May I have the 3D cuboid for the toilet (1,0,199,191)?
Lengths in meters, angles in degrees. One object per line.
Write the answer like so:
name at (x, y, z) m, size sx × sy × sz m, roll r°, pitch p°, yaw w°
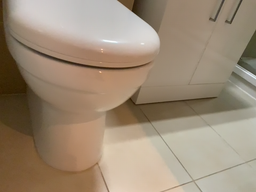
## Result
toilet at (-0.170, -0.060, 0.660) m, size 0.360 × 0.470 × 0.500 m, roll -4°, pitch 38°, yaw -29°
